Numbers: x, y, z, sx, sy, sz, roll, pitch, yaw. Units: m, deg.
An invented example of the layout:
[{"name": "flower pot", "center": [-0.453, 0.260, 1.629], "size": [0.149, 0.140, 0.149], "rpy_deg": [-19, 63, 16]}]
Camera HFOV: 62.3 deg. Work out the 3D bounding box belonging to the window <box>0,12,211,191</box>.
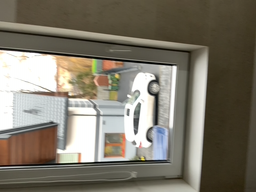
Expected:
[{"name": "window", "center": [-0.240, 0.090, 1.170], "size": [0.260, 1.330, 0.890], "rpy_deg": [-159, 73, -73]}]
